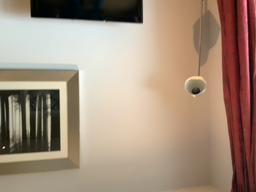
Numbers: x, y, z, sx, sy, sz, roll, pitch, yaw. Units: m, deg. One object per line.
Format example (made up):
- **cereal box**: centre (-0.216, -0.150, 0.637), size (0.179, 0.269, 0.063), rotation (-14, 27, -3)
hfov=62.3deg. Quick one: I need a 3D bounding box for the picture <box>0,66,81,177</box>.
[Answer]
- **picture**: centre (-1.140, 0.190, 1.480), size (1.580, 0.800, 0.050), rotation (-1, -177, -14)
